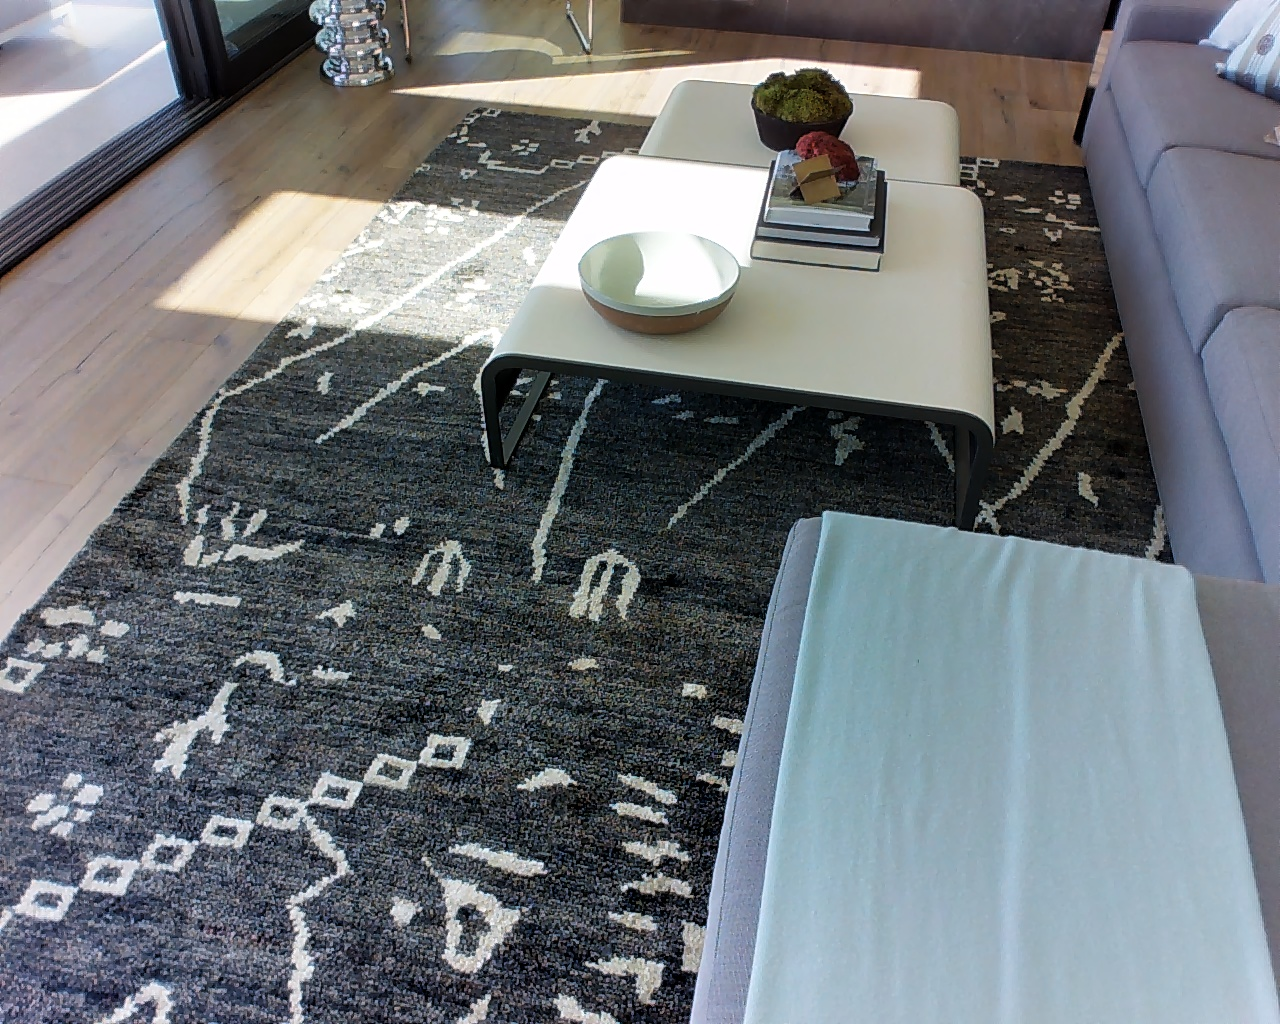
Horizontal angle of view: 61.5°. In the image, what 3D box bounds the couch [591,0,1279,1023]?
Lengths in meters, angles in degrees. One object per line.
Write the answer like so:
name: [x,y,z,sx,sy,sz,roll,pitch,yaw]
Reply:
couch: [1.250,-0.290,2.250,1.890,0.620,3.820,9,43,9]
